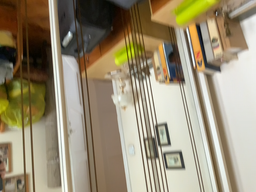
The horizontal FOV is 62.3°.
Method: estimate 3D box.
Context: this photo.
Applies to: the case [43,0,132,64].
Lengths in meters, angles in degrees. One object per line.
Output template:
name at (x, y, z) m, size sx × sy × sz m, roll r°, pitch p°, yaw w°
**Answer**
case at (-0.310, -0.650, 1.390) m, size 0.320 × 0.700 × 0.540 m, roll 1°, pitch 166°, yaw -37°
